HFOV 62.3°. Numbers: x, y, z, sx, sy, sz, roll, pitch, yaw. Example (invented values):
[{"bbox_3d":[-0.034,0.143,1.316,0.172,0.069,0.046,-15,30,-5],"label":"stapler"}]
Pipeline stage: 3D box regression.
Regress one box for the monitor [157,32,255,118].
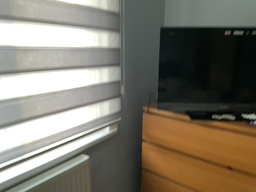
[{"bbox_3d":[0.590,-0.120,1.290,0.800,0.510,0.060,1,12,2],"label":"monitor"}]
